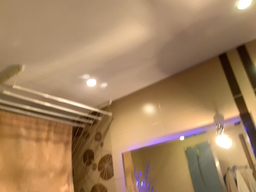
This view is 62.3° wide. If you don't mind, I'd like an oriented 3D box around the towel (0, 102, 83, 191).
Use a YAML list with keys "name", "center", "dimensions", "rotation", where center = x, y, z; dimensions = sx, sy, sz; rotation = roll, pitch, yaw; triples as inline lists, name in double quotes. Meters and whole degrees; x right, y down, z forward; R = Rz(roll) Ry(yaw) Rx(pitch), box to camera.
- name: "towel"
  center: [-0.640, 0.490, 1.490]
  dimensions: [0.170, 0.740, 0.700]
  rotation: [-22, -27, 28]
